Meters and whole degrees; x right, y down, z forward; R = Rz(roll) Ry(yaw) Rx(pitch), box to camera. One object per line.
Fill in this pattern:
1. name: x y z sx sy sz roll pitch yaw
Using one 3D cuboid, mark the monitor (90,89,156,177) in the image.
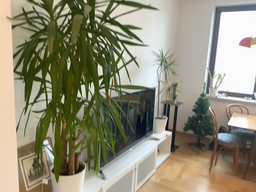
1. monitor: 0.010 0.340 2.490 0.060 0.710 1.230 12 13 30
